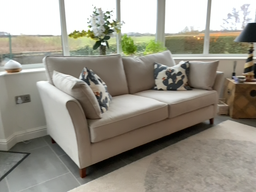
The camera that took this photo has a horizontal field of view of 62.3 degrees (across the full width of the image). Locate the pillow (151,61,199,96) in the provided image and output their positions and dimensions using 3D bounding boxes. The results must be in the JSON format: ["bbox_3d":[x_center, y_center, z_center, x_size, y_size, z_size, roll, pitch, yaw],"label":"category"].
[{"bbox_3d":[0.600,-0.220,2.730,0.550,0.380,0.220,4,53,15],"label":"pillow"}]

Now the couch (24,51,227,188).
[{"bbox_3d":[0.070,-0.010,2.490,2.050,0.870,1.060,-12,20,-36],"label":"couch"}]

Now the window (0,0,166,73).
[{"bbox_3d":[-0.410,-0.920,2.930,2.570,0.930,0.070,-12,20,-35],"label":"window"}]

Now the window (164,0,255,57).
[{"bbox_3d":[1.860,-1.130,3.440,2.480,0.960,0.090,3,16,11],"label":"window"}]
